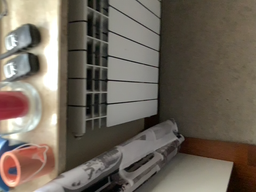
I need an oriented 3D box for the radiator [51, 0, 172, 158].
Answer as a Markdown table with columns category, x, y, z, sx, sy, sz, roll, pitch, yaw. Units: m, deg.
| category | x | y | z | sx | sy | sz | roll | pitch | yaw |
| --- | --- | --- | --- | --- | --- | --- | --- | --- | --- |
| radiator | 0.010 | -0.330 | 0.830 | 0.100 | 0.670 | 0.950 | 4 | 94 | 30 |
